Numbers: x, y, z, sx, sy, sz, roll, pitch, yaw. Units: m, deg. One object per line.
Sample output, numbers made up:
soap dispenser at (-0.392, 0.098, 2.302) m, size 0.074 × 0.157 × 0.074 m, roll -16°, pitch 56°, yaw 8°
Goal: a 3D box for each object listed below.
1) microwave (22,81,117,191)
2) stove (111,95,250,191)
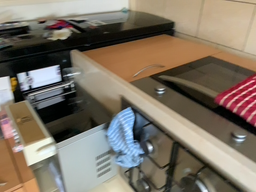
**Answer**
microwave at (-0.320, 0.230, 1.160) m, size 0.500 × 0.280 × 0.400 m, roll 36°, pitch 135°, yaw 42°
stove at (0.120, 0.350, 0.830) m, size 0.610 × 0.030 × 0.520 m, roll 35°, pitch 135°, yaw 42°
